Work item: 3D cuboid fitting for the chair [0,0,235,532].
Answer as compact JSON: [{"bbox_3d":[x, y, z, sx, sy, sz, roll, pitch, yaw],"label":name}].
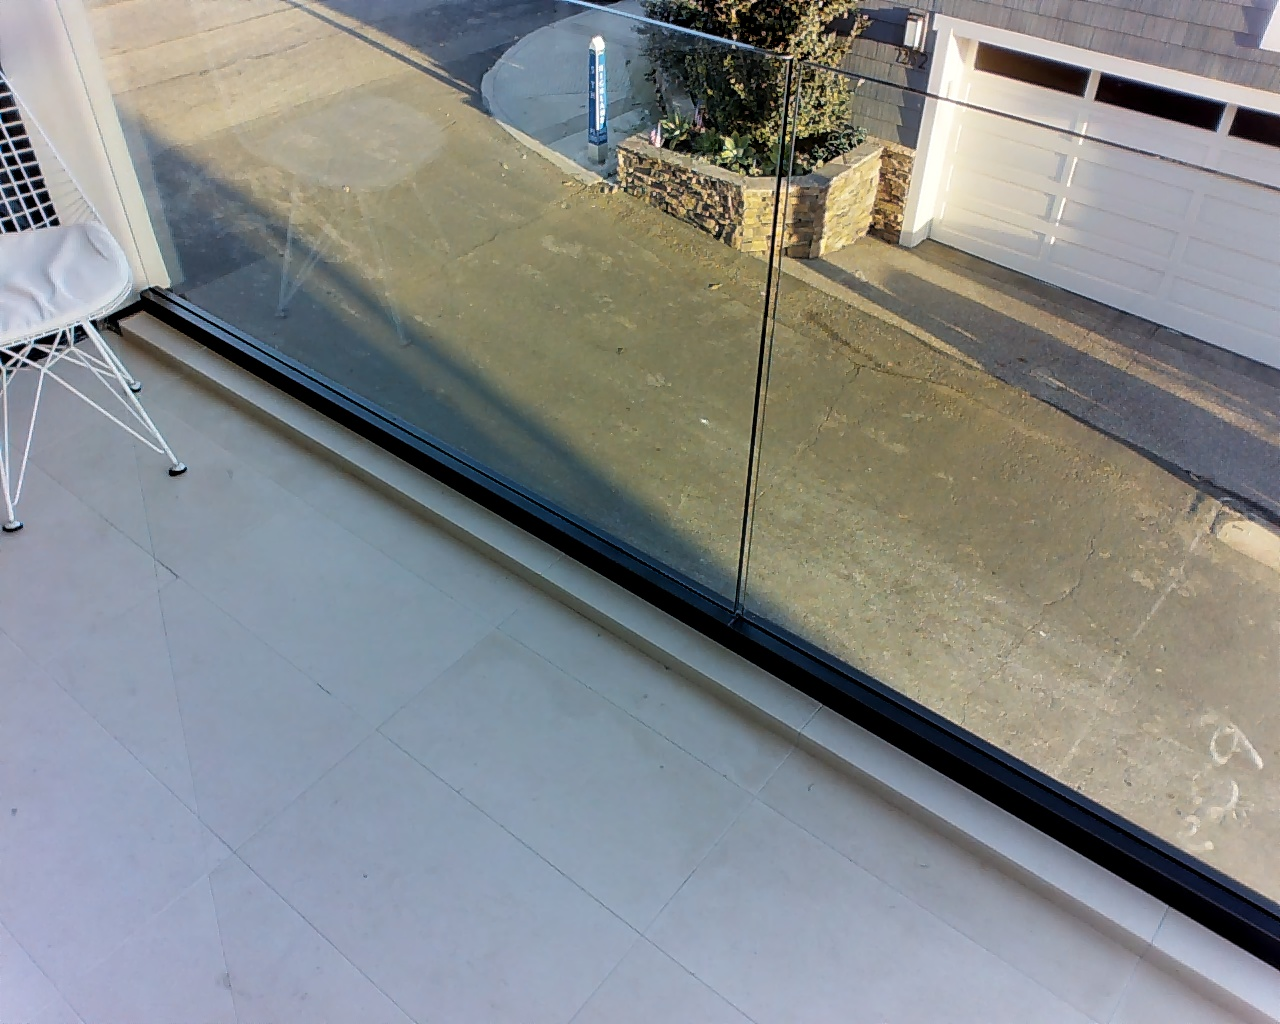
[{"bbox_3d":[-1.360,-0.550,2.280,0.580,0.890,0.660,-23,47,-24],"label":"chair"}]
